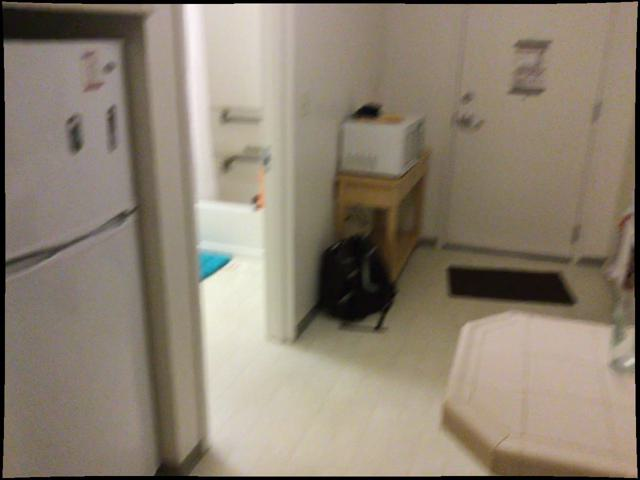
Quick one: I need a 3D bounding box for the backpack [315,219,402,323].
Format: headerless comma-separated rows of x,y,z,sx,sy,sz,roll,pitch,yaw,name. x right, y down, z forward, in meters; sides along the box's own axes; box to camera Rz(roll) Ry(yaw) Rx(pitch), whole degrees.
0.220,0.160,3.260,0.380,0.420,0.380,8,22,17,backpack

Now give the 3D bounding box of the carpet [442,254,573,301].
1.169,0.230,3.690,0.729,0.070,0.450,4,21,6,carpet
